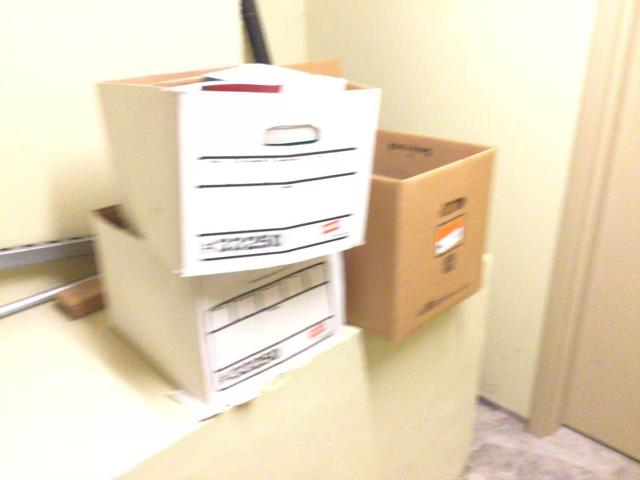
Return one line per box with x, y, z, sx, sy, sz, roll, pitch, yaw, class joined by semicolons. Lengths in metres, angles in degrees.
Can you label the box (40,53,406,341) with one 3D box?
-0.170;-0.130;0.990;0.360;0.320;0.510;-21;29;-38;box
